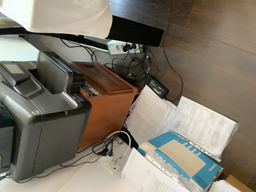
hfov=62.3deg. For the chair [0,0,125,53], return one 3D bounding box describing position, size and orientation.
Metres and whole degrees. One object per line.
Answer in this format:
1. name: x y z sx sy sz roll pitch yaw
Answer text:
1. chair: -0.510 -0.510 1.120 0.310 1.050 0.410 31 114 34
